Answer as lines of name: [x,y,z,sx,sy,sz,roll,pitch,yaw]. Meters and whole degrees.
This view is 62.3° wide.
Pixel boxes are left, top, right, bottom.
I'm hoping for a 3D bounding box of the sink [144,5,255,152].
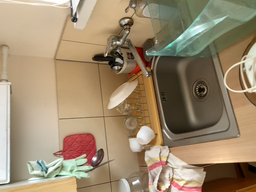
sink: [0.300,-0.040,0.950,0.400,0.200,0.510,-35,60,58]
